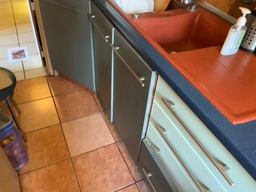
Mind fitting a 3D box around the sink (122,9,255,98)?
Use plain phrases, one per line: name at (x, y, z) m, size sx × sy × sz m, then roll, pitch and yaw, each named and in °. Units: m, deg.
sink at (0.290, -0.250, 1.090) m, size 0.510 × 0.200 × 0.410 m, roll -14°, pitch 46°, yaw -21°
